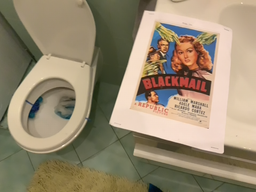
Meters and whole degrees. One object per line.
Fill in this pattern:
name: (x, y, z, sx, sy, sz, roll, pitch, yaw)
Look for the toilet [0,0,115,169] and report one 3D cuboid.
toilet: (-0.330, -0.030, 0.970, 0.340, 0.820, 0.560, 11, 67, 7)
